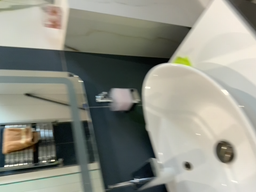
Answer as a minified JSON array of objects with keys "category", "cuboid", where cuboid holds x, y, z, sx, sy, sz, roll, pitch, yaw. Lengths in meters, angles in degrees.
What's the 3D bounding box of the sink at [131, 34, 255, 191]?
[{"category":"sink","cuboid":[0.240,0.150,0.640,0.370,0.200,0.540,-58,41,48]}]
